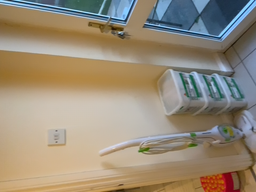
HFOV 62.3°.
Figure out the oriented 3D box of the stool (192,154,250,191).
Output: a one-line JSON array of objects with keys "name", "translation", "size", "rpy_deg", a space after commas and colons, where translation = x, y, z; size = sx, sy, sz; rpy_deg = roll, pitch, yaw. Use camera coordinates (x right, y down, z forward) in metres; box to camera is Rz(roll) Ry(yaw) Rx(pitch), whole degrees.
[{"name": "stool", "translation": [0.700, 0.640, 1.640], "size": [0.300, 0.170, 0.280], "rpy_deg": [125, 139, -50]}]
